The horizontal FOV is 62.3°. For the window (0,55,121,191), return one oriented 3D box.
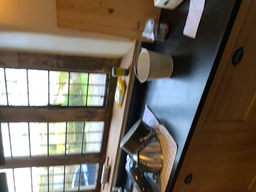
[{"bbox_3d":[-0.740,0.750,2.200,0.050,0.990,2.320,-121,37,-58],"label":"window"}]
